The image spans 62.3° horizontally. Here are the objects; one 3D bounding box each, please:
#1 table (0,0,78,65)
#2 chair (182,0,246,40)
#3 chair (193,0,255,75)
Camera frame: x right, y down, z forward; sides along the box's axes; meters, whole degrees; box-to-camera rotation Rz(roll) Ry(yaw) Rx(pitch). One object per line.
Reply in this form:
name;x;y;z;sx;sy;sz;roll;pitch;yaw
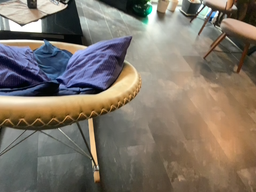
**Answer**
table;-0.980;-0.790;2.290;0.740;0.360;0.990;-2;45;-20
chair;1.310;-1.370;3.290;0.580;0.740;0.500;5;43;-13
chair;1.320;-0.790;2.680;0.590;0.730;0.500;30;44;14
